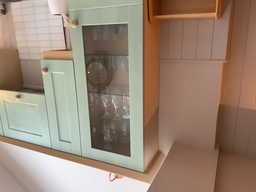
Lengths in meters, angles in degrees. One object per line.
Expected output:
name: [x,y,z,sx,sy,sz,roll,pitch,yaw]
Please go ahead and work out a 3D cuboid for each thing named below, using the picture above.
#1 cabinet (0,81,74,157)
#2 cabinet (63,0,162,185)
cabinet: [-0.850,0.170,1.910,0.580,0.510,0.350,7,-163,25]
cabinet: [-0.080,-0.100,1.450,0.510,1.250,0.340,7,-163,25]
